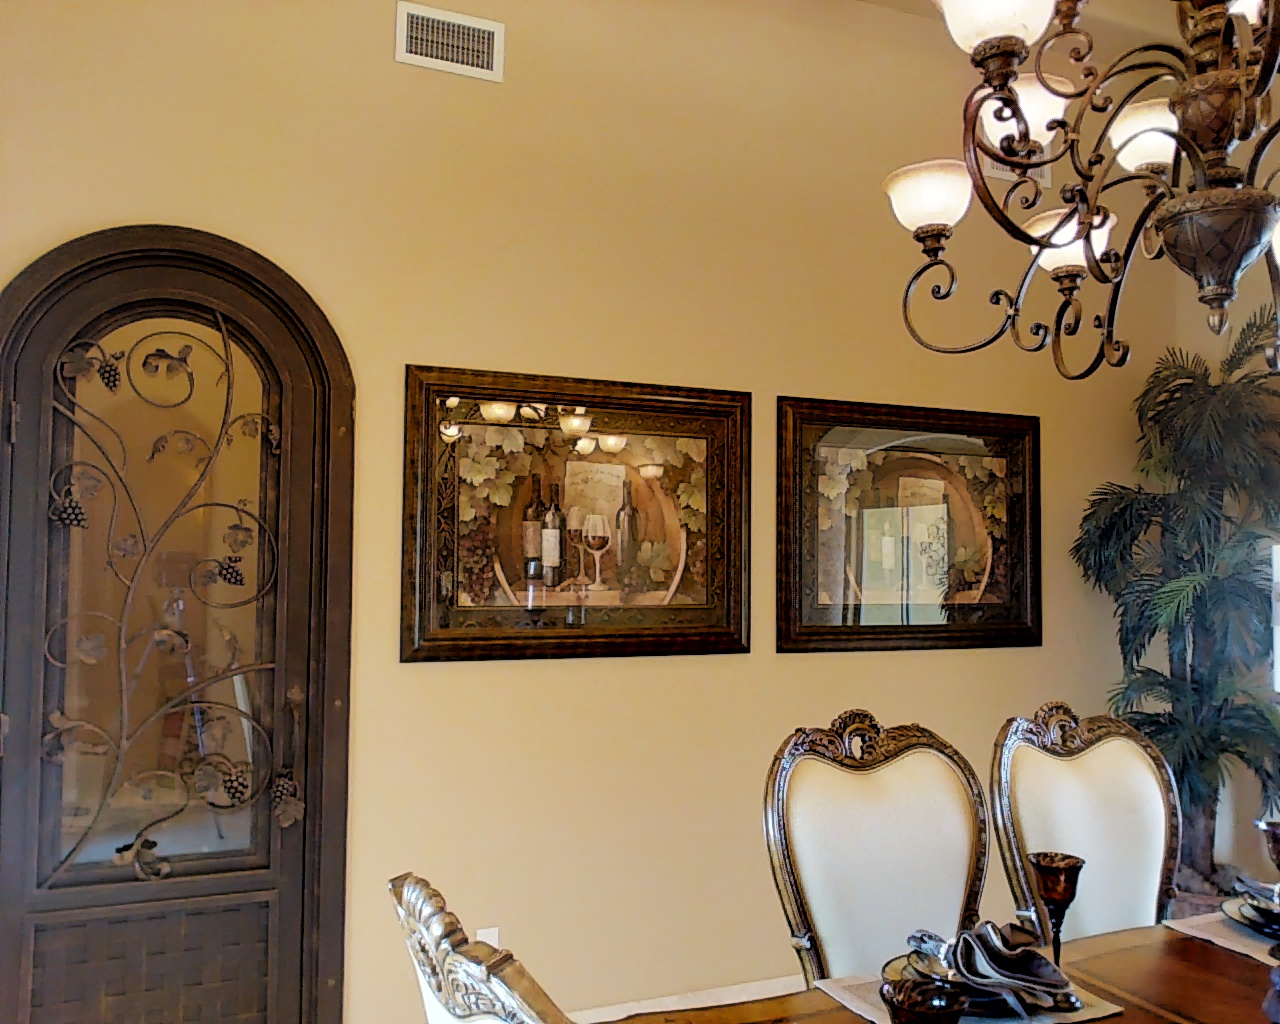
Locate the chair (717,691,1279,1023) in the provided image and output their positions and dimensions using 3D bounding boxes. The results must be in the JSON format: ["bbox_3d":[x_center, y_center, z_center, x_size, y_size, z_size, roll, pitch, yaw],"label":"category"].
[{"bbox_3d":[0.950,1.070,2.390,1.300,1.200,0.840,3,-4,-25],"label":"chair"}]
